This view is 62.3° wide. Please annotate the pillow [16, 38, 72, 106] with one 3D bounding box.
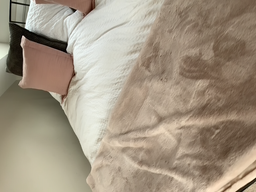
[{"bbox_3d":[-0.690,-0.200,1.740,0.160,0.360,0.460,36,127,10],"label":"pillow"}]
